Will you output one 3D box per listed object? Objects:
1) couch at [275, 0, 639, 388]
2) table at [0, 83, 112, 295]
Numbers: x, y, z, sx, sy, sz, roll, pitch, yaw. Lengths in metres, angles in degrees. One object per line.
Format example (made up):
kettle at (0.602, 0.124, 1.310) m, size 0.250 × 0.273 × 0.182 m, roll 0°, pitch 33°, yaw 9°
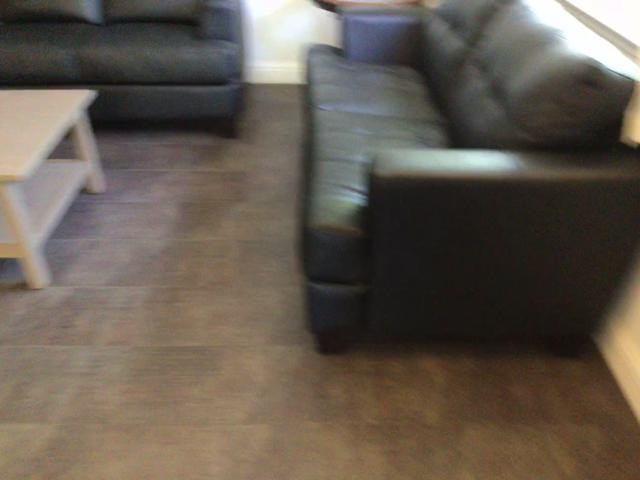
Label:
couch at (0.340, -0.450, 2.220) m, size 0.900 × 0.990 × 1.770 m, roll 2°, pitch 33°, yaw -8°
table at (-1.510, -0.240, 2.170) m, size 1.210 × 0.490 × 0.770 m, roll 2°, pitch 33°, yaw -8°
